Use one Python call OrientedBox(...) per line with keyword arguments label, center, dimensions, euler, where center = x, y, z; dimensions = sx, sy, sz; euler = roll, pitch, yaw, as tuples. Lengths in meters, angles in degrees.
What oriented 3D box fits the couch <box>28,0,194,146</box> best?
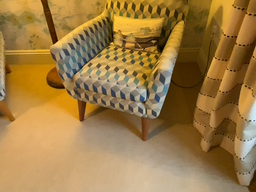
OrientedBox(label="couch", center=(0.000, -0.320, 1.510), dimensions=(0.720, 0.840, 0.830), euler=(14, 44, 15))
